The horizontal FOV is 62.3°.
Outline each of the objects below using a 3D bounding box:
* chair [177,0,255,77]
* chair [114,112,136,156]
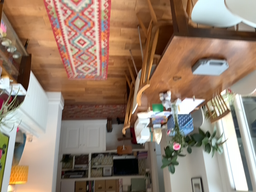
[{"bbox_3d":[0.690,-0.640,1.400,0.500,0.860,0.540,1,159,-10],"label":"chair"},{"bbox_3d":[-0.080,0.980,5.440,0.500,1.000,0.500,-3,159,2],"label":"chair"}]
